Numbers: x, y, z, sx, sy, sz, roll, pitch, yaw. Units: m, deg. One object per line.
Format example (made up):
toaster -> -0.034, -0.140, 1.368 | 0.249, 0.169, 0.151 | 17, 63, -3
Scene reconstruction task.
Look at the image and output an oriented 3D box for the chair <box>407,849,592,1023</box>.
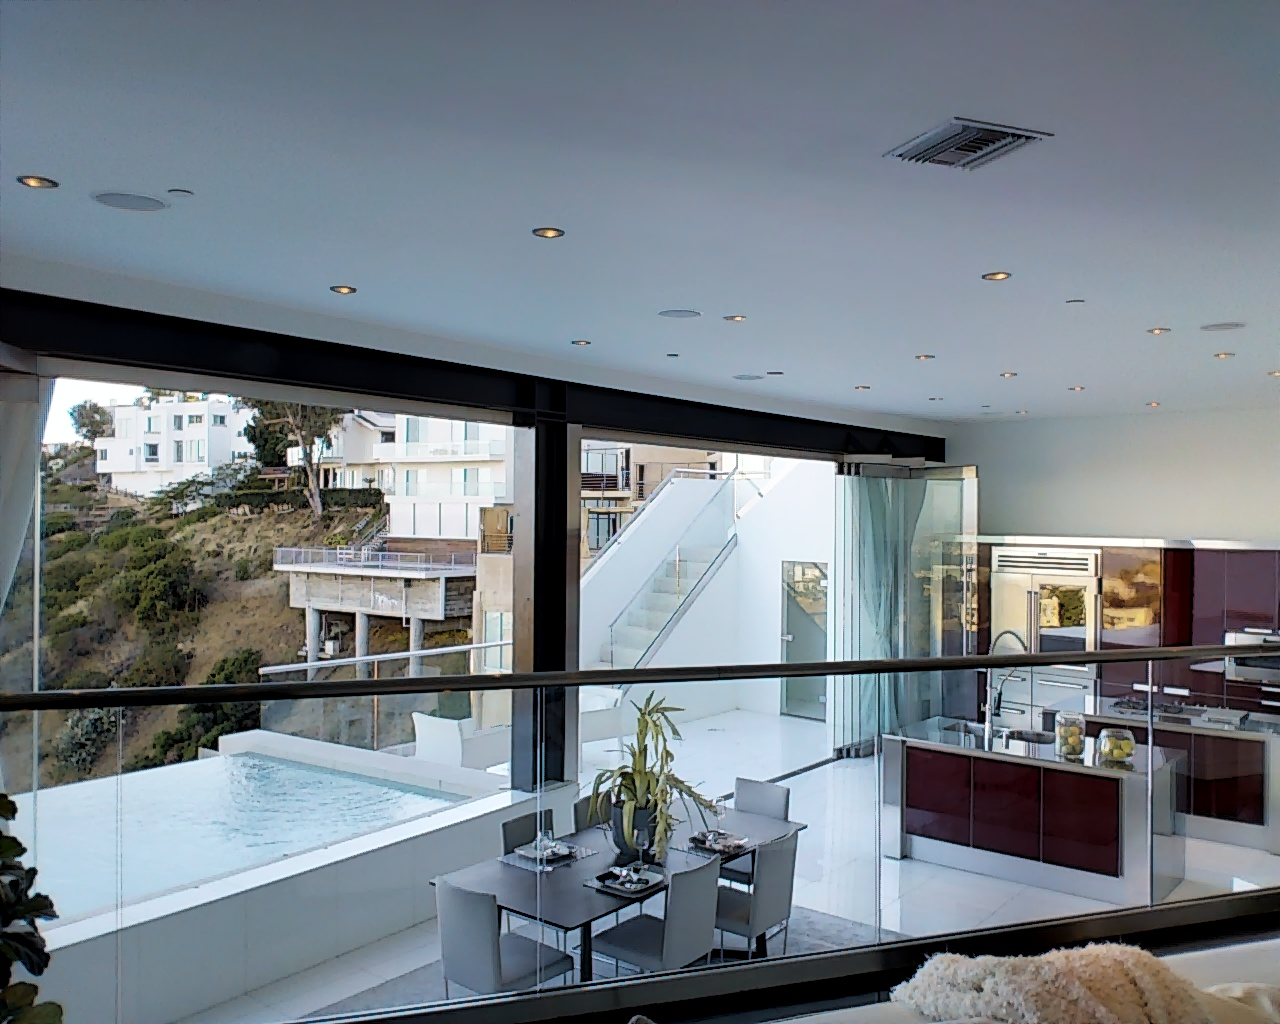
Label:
chair -> -0.660, 2.150, 5.070 | 0.640, 0.860, 0.580 | 0, -1, 40
